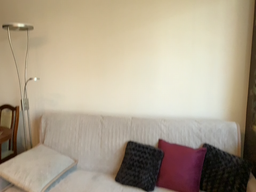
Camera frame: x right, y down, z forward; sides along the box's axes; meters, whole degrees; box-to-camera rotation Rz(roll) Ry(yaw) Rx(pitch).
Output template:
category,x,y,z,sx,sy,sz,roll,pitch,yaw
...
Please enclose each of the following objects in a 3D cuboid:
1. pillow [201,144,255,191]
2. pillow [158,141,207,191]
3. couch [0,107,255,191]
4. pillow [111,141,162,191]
category,x,y,z,sx,sy,sz,roll,pitch,yaw
pillow,0.810,0.610,1.740,0.350,0.320,0.250,2,9,11
pillow,0.450,0.610,1.800,0.360,0.340,0.270,2,9,13
couch,-0.020,0.710,1.950,2.140,0.930,1.030,2,9,13
pillow,0.080,0.620,1.920,0.420,0.330,0.210,2,9,14
